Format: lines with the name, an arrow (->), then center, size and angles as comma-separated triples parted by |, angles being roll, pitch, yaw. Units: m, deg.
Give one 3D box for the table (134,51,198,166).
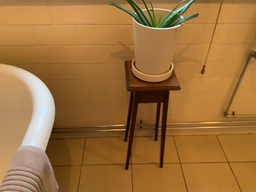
table -> 0.160, 0.100, 1.120 | 0.220, 0.630, 0.220 | 0, 40, -1
